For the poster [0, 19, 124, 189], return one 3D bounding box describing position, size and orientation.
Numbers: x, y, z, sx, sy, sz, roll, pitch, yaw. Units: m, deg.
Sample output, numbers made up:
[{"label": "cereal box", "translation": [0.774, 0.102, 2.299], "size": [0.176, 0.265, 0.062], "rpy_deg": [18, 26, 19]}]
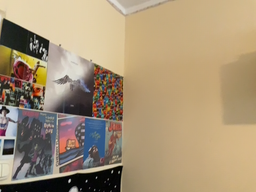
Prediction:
[{"label": "poster", "translation": [-0.290, 0.090, 1.220], "size": [0.070, 0.670, 0.910], "rpy_deg": [-5, -12, 29]}]
